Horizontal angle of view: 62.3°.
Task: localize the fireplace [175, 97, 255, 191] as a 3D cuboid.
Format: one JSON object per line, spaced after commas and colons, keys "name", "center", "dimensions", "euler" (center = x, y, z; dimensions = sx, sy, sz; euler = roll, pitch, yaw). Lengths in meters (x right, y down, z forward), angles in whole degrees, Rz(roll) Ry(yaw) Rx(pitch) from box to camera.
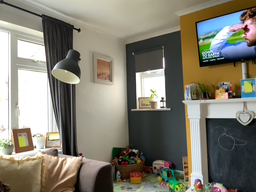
{"name": "fireplace", "center": [1.240, 0.610, 2.280], "dimensions": [1.320, 1.180, 0.440], "euler": [-4, -4, 38]}
